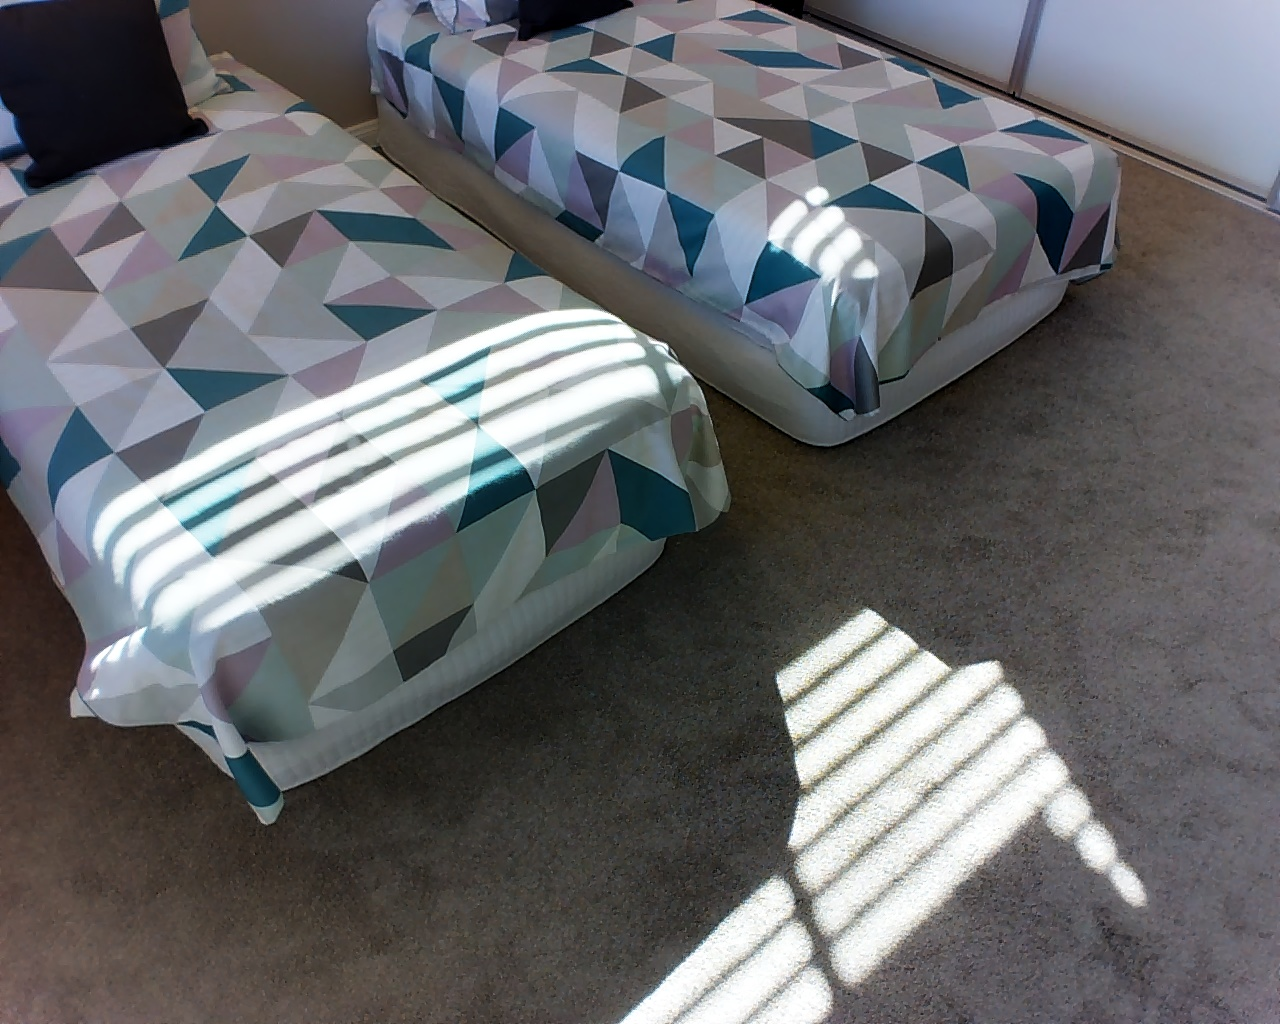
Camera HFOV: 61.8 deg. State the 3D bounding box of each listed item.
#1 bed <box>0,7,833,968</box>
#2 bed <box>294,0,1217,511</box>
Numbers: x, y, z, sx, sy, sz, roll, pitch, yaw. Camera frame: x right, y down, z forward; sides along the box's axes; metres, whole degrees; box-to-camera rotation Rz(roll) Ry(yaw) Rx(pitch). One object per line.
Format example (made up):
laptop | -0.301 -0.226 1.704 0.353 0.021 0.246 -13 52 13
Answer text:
bed | -0.840 -0.360 2.220 1.280 0.490 2.070 -31 52 -28
bed | 0.180 -0.990 2.870 1.230 0.470 2.050 -31 52 -28
